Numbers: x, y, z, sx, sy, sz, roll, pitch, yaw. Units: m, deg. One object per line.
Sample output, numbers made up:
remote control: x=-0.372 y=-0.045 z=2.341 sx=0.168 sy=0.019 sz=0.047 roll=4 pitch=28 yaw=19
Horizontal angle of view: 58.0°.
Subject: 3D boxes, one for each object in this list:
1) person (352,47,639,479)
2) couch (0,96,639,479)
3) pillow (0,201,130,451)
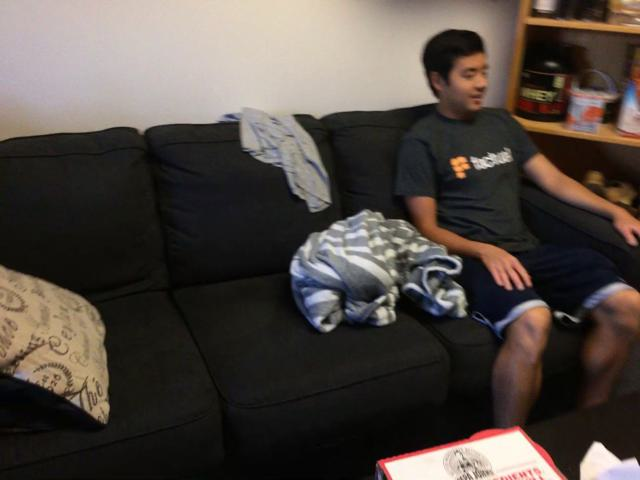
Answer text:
person: x=0.620 y=0.010 z=1.810 sx=0.610 sy=1.090 sz=0.950 roll=-8 pitch=25 yaw=-23
couch: x=-0.130 y=0.150 z=1.720 sx=2.110 sy=0.920 sz=0.980 roll=-8 pitch=25 yaw=-23
pillow: x=-0.670 y=0.160 z=1.270 sx=0.390 sy=0.310 sz=0.510 roll=-8 pitch=25 yaw=-23
